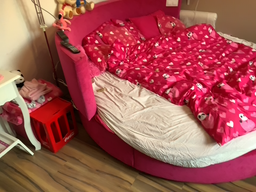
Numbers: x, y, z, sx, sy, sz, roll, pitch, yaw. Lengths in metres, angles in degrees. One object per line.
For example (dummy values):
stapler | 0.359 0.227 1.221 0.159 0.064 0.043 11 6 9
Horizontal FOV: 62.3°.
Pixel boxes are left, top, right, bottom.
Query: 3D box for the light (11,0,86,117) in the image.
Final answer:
light | -0.710 -0.580 1.840 0.400 1.660 0.240 21 42 28

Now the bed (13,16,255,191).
bed | 0.560 -0.210 2.420 2.350 0.480 2.370 18 40 25

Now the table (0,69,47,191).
table | -1.150 0.330 1.490 0.450 0.760 0.850 18 40 25
